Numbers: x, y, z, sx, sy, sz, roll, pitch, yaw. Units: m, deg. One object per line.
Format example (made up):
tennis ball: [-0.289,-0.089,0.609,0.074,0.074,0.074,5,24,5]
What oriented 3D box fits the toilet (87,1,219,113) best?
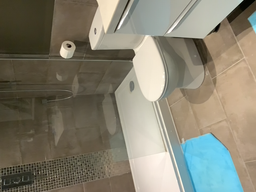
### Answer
toilet: [0.160,-0.280,1.630,0.370,0.780,0.670,-47,52,57]
